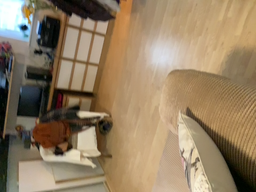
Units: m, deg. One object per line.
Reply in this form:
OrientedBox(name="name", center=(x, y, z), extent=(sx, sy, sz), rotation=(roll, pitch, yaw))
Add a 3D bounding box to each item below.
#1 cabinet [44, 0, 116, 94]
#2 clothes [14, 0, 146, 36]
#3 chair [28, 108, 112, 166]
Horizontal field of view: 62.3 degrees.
OrientedBox(name="cabinet", center=(-0.760, -0.830, 3.200), extent=(0.550, 0.690, 1.450), rotation=(37, 116, 56))
OrientedBox(name="clothes", center=(-0.470, -0.970, 1.990), extent=(0.790, 1.010, 0.430), rotation=(43, 121, 54))
OrientedBox(name="chair", center=(-0.750, 0.550, 2.730), extent=(0.590, 0.870, 0.590), rotation=(-33, 57, 53))
